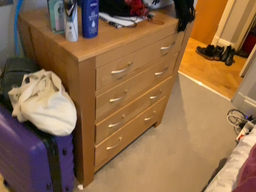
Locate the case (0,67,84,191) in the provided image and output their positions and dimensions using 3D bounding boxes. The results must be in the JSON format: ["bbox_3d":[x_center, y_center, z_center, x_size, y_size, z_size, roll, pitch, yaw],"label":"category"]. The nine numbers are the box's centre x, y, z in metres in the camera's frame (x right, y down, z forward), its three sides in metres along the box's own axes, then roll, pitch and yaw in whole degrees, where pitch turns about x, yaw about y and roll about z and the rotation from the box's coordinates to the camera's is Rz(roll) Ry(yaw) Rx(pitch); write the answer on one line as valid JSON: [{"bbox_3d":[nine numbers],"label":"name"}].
[{"bbox_3d":[-0.560,0.290,1.190,0.560,0.650,0.310,35,48,27],"label":"case"}]
